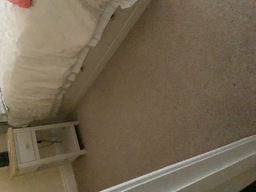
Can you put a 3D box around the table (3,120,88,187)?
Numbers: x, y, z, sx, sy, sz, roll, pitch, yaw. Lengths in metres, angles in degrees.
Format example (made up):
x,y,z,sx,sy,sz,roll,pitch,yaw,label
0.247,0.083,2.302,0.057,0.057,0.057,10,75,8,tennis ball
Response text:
x,y,z,sx,sy,sz,roll,pitch,yaw,label
-0.840,0.560,2.130,0.480,0.640,0.400,-45,58,45,table
